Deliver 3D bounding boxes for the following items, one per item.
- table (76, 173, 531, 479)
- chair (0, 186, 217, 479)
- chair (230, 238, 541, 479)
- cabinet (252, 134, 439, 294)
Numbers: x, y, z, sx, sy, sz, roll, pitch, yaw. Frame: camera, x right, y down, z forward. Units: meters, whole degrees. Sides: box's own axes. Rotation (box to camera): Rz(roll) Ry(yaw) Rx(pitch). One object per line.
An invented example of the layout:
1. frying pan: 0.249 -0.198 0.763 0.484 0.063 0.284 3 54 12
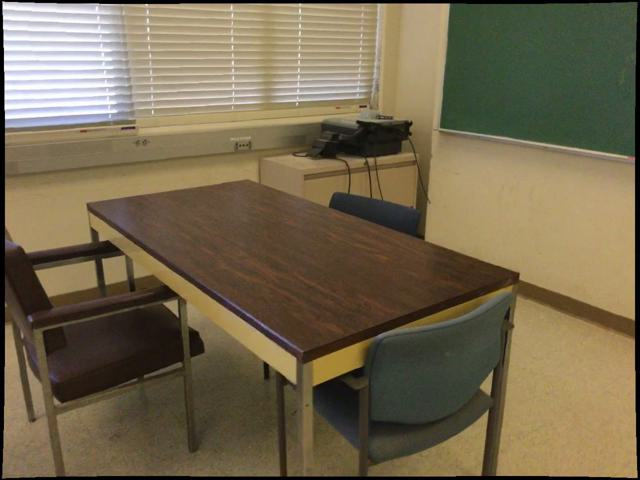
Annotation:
1. table: -0.199 0.281 2.110 0.859 0.651 1.549 -13 24 -33
2. chair: -0.818 0.291 2.030 0.609 0.752 0.659 -16 25 -37
3. chair: 0.170 0.461 1.690 0.649 0.702 0.540 -13 24 -33
4. cabinet: 0.170 -0.221 3.740 1.058 0.752 0.560 -13 24 -33
